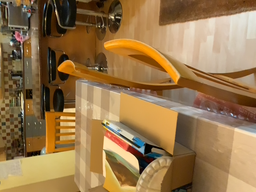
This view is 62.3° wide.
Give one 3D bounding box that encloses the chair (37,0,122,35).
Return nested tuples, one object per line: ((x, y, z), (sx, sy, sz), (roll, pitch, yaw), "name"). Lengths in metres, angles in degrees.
((-0.600, -1.060, 2.650), (0.420, 0.940, 0.460), (26, 114, 56), "chair")

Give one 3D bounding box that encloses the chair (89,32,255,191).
((0.400, 0.100, 0.990), (0.430, 1.010, 0.620), (35, 121, 53), "chair")

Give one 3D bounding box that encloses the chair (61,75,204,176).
((0.050, 0.140, 1.610), (0.410, 0.990, 0.550), (17, 107, 58), "chair")

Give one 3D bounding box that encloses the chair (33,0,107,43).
((-0.830, -1.030, 3.050), (0.390, 0.940, 0.450), (21, 110, 57), "chair")

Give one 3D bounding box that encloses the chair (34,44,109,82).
((-0.820, -0.470, 3.080), (0.450, 0.940, 0.410), (37, 123, 52), "chair")

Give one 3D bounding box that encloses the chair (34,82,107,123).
((-0.850, 0.070, 3.170), (0.460, 0.940, 0.520), (1, 93, 59), "chair")
